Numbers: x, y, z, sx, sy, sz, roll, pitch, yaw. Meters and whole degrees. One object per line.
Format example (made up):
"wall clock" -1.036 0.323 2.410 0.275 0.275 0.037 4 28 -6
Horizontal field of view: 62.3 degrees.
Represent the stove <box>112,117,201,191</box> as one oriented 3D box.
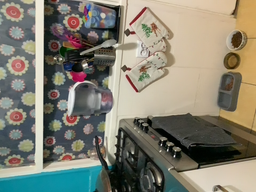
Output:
"stove" 0.090 0.500 1.170 0.590 0.150 0.600 -148 61 -64
